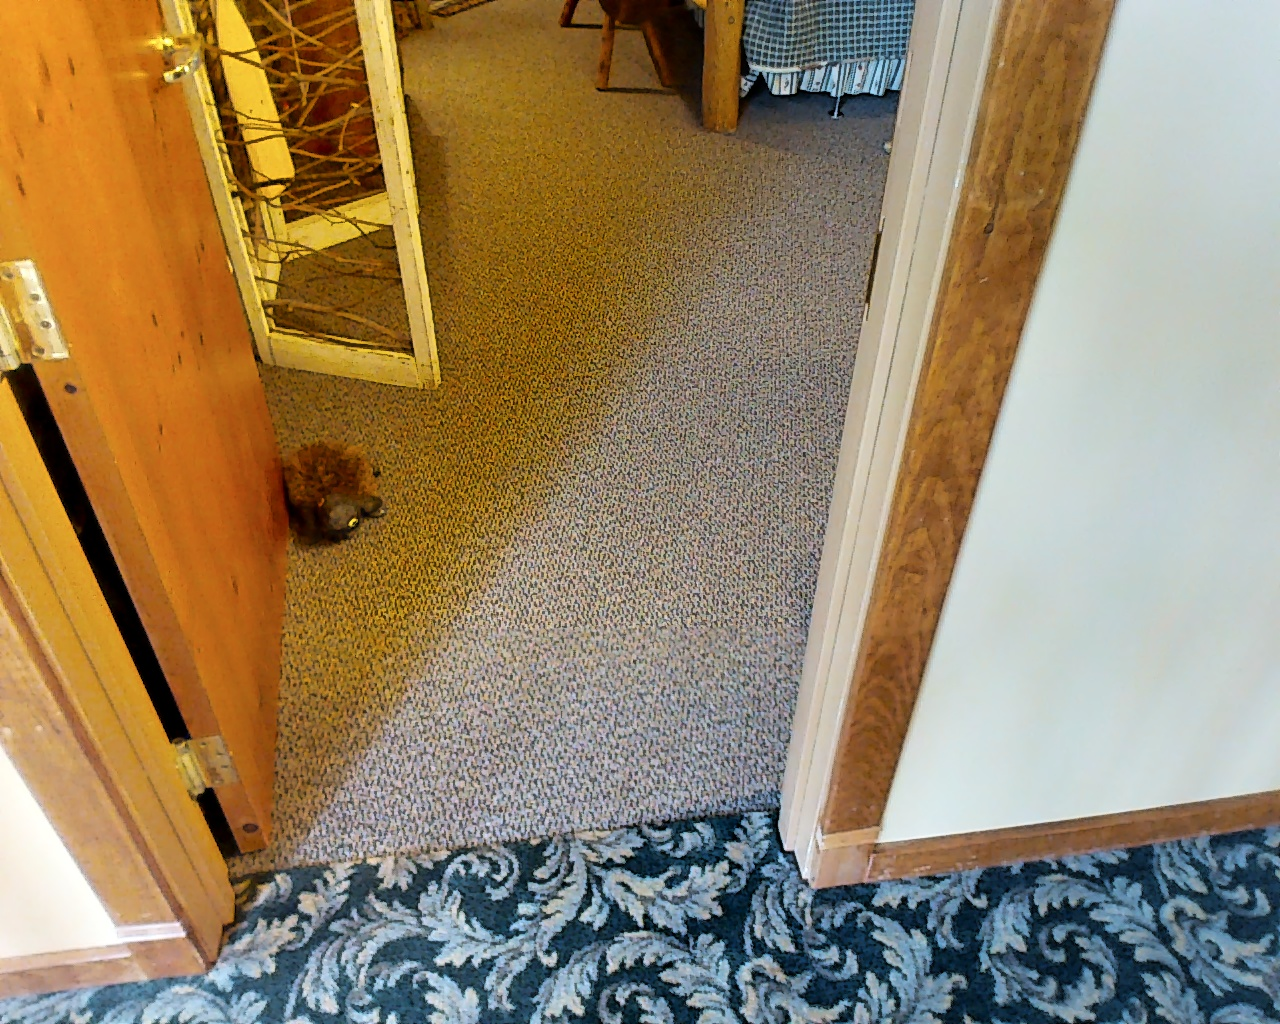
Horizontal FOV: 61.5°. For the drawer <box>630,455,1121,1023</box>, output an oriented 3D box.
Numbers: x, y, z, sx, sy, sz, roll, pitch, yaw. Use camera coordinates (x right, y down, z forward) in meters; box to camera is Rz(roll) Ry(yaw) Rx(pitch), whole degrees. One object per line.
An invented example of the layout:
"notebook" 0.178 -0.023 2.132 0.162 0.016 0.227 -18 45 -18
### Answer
"drawer" 0.260 0.400 1.650 0.450 0.650 0.690 -6 42 -7
